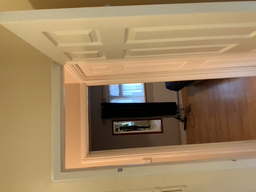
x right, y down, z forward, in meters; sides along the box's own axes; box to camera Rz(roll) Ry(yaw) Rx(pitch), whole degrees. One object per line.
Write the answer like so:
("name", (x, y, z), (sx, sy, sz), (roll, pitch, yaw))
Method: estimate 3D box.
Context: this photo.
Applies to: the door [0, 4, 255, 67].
("door", (0.550, -0.290, 1.120), (0.810, 1.950, 0.040), (153, 113, -88))
